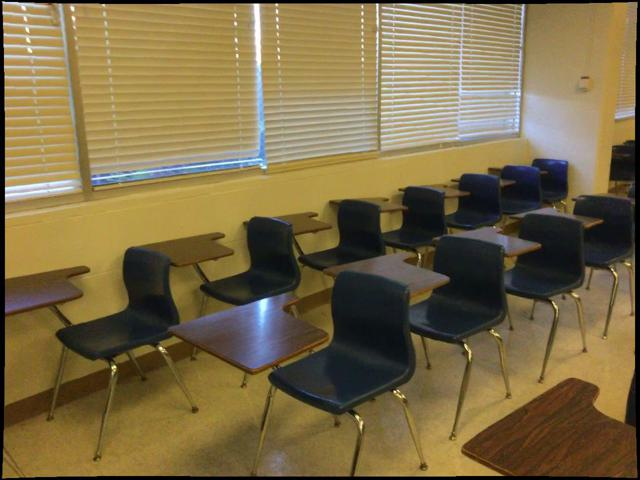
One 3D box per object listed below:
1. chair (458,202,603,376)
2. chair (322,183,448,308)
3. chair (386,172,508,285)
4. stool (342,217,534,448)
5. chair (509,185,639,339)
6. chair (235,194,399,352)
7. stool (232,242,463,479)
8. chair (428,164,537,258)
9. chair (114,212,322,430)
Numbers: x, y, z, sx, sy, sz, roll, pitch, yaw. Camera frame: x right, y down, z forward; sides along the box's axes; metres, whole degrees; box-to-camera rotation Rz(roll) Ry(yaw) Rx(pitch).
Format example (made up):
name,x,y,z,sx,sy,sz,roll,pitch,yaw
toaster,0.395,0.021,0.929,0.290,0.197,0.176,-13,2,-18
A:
name,x,y,z,sx,sy,sz,roll,pitch,yaw
chair,1.197,0.231,3.270,0.479,0.722,0.719,13,21,39
chair,0.459,0.000,4.010,0.519,0.632,0.749,13,21,39
chair,0.997,-0.130,4.500,0.549,0.642,0.869,13,21,39
stool,0.578,0.381,2.820,0.529,0.772,0.829,14,22,41
chair,1.676,0.100,3.750,0.549,0.752,0.729,13,21,39
chair,0.010,0.150,3.570,0.519,0.672,0.909,13,21,39
stool,0.130,0.511,2.360,0.529,0.772,0.769,14,22,41
chair,1.396,-0.281,4.920,0.499,0.581,0.919,13,21,39
chair,-0.499,0.361,3.110,0.509,0.802,0.959,13,21,39
